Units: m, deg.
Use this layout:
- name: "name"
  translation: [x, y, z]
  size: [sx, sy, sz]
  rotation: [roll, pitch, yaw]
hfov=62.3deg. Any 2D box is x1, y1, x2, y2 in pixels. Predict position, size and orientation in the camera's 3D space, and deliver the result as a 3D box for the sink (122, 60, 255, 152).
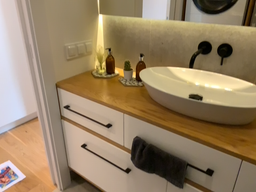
- name: "sink"
  translation: [0.330, -0.010, 1.010]
  size: [0.610, 0.120, 0.390]
  rotation: [20, 32, 33]
